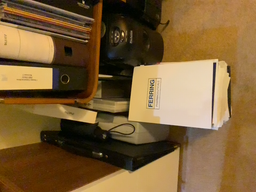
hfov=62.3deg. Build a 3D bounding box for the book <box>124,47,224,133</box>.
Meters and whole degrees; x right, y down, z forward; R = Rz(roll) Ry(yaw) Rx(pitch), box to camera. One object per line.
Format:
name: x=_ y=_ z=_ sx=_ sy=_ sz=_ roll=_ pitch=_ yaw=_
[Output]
book: x=0.190 y=-0.030 z=0.860 sx=0.290 sy=0.270 sz=0.270 roll=7 pitch=94 yaw=37
